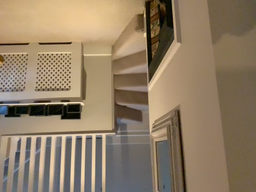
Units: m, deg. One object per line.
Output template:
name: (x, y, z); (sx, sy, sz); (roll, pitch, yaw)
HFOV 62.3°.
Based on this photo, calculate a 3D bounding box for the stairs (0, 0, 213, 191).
stairs: (-0.990, 0.670, 2.870); (3.480, 3.080, 1.930); (-2, 168, 3)
